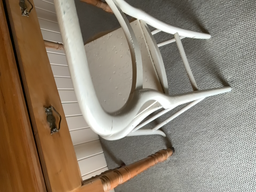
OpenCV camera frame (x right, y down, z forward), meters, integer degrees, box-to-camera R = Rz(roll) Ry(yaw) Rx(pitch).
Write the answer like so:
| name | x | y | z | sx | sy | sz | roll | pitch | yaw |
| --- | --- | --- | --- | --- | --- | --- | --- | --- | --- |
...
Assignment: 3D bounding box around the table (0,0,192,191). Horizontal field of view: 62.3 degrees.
| name | x | y | z | sx | sy | sz | roll | pitch | yaw |
| --- | --- | --- | --- | --- | --- | --- | --- | --- | --- |
| table | -0.270 | -0.030 | 0.970 | 0.510 | 0.740 | 0.930 | -31 | 73 | 34 |
